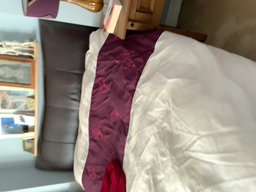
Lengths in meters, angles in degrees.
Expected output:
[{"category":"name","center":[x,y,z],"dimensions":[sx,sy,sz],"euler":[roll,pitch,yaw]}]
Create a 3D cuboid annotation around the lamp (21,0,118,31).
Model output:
[{"category":"lamp","center":[-0.390,-0.640,1.400],"dimensions":[0.330,0.560,0.280],"euler":[-132,48,-54]}]
